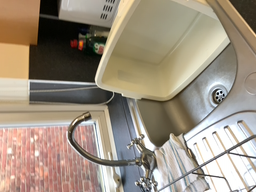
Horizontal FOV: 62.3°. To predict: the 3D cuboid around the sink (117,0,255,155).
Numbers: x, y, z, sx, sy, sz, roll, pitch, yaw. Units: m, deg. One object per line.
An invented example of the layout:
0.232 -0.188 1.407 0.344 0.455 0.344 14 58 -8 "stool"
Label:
0.170 -0.120 0.680 0.470 0.180 0.450 123 139 -48 "sink"
